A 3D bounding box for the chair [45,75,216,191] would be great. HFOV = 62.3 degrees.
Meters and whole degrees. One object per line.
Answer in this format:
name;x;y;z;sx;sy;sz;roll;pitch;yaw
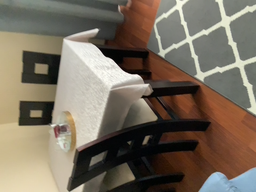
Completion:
chair;0.020;0.190;1.420;0.530;0.930;0.440;46;128;40
